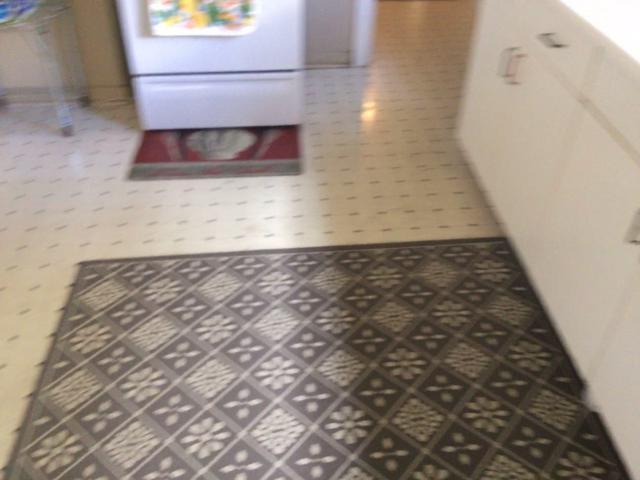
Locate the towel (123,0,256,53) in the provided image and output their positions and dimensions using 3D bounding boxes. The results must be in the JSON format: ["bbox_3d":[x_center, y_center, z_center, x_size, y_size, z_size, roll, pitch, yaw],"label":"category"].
[{"bbox_3d":[-0.530,-0.980,2.370,0.520,0.400,0.080,-2,38,-7],"label":"towel"}]
